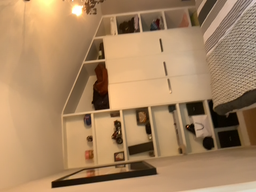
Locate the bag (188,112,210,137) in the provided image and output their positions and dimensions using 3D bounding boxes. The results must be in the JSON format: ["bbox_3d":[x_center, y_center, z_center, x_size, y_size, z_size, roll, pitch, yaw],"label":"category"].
[{"bbox_3d":[1.100,0.450,3.320,0.180,0.220,0.350,93,170,-74],"label":"bag"}]
